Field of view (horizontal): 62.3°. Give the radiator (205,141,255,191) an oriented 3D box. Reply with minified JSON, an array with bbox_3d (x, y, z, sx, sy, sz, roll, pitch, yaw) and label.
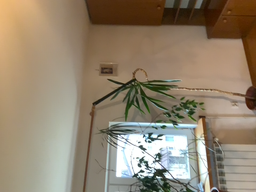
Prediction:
[{"bbox_3d":[1.290,1.010,2.310,0.140,0.750,0.980,92,180,-70],"label":"radiator"}]
